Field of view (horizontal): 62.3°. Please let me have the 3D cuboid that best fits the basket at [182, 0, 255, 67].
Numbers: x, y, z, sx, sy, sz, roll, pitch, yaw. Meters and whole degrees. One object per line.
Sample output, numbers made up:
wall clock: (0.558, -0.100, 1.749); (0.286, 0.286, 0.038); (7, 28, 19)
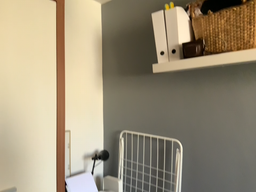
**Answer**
basket: (0.540, -0.370, 1.140); (0.380, 0.350, 0.310); (-2, -2, 39)
